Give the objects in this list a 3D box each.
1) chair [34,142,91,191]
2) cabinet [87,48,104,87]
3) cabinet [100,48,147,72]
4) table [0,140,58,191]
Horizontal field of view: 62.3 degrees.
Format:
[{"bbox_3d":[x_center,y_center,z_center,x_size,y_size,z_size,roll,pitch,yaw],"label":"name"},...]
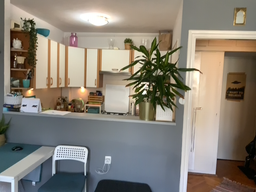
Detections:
[{"bbox_3d":[-0.650,0.940,2.190,0.420,0.770,0.490,3,5,2],"label":"chair"},{"bbox_3d":[-0.620,-0.540,4.070,0.230,0.720,0.290,3,5,7],"label":"cabinet"},{"bbox_3d":[-0.080,-0.670,4.000,0.850,0.400,0.290,3,5,7],"label":"cabinet"},{"bbox_3d":[-1.250,0.930,2.120,0.780,0.730,0.770,3,4,6],"label":"table"}]
